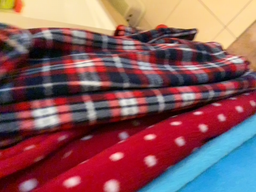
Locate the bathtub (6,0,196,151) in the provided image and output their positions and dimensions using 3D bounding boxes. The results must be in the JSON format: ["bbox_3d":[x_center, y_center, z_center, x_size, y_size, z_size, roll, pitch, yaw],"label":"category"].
[{"bbox_3d":[-0.330,-0.470,1.540,0.710,0.560,1.420,-51,61,37],"label":"bathtub"}]
